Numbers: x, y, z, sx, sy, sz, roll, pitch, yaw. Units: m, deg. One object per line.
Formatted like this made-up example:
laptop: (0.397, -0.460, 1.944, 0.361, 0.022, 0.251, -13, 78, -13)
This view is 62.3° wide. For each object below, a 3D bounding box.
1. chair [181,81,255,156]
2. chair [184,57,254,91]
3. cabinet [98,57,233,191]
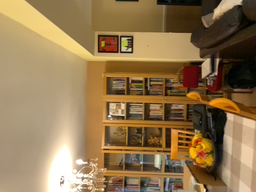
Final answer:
chair: (1.080, 0.190, 2.000, 0.440, 1.010, 0.600, -92, 3, -80)
chair: (1.220, -0.290, 2.950, 0.480, 0.750, 0.420, -97, 9, -86)
cabinet: (0.550, 0.800, 3.460, 0.350, 2.020, 2.750, -97, 9, -86)
